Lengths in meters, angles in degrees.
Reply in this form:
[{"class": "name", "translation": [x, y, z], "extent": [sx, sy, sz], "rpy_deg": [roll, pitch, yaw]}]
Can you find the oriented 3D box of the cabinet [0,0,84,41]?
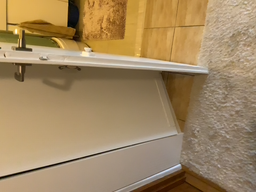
[{"class": "cabinet", "translation": [-1.010, -0.920, 2.490], "extent": [0.430, 0.830, 0.410], "rpy_deg": [23, 110, 46]}]
